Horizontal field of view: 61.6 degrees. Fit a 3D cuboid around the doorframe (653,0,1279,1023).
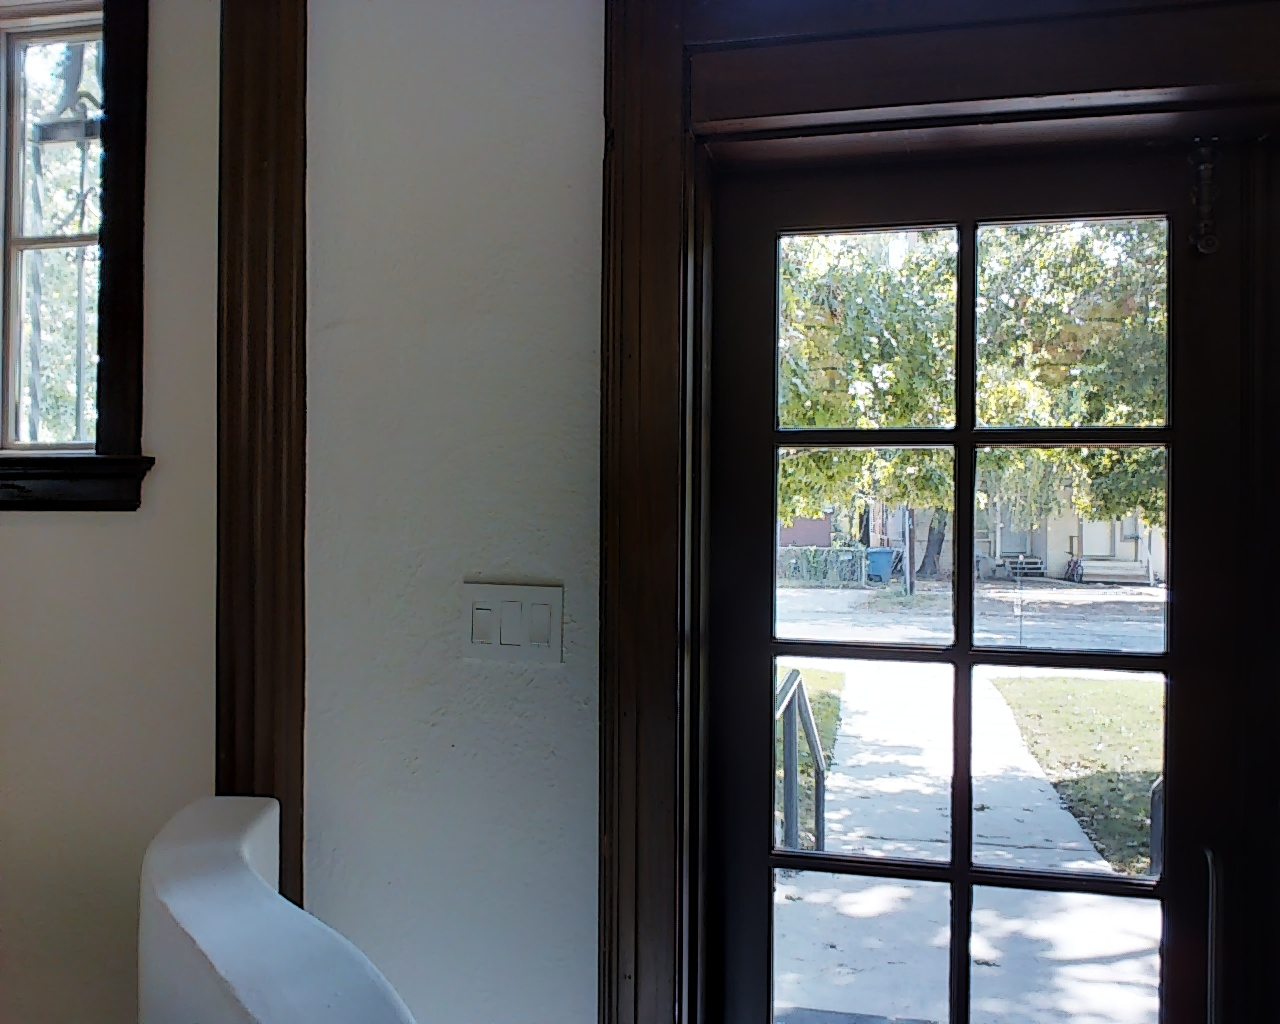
[{"bbox_3d":[0.910,-0.200,1.480,1.770,3.300,0.190,1,0,13],"label":"doorframe"}]
